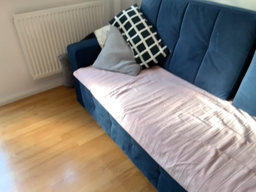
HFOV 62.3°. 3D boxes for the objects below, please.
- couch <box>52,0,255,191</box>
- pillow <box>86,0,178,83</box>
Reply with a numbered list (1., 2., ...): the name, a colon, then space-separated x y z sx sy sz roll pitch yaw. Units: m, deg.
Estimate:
1. couch: 0.550 0.050 1.190 1.000 0.920 2.260 -23 41 -28
2. pillow: 0.000 -0.470 1.660 0.230 0.510 0.540 19 14 -46
